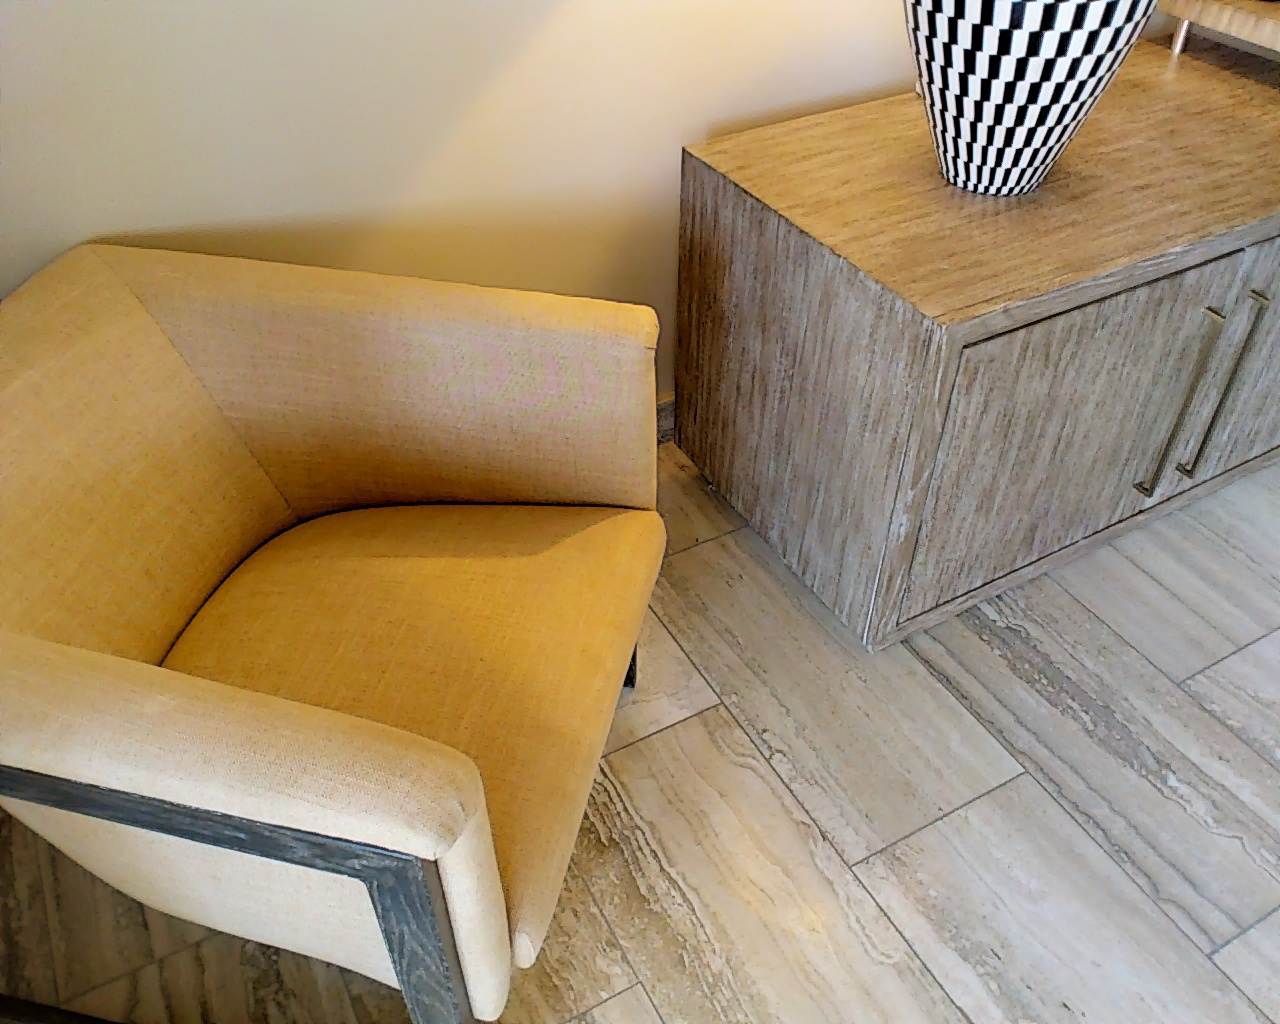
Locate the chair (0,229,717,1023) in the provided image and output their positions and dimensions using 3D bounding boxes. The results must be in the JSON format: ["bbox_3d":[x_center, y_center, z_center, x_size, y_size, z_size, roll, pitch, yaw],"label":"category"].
[{"bbox_3d":[-0.380,0.180,1.230,0.790,0.660,0.710,9,42,11],"label":"chair"}]
